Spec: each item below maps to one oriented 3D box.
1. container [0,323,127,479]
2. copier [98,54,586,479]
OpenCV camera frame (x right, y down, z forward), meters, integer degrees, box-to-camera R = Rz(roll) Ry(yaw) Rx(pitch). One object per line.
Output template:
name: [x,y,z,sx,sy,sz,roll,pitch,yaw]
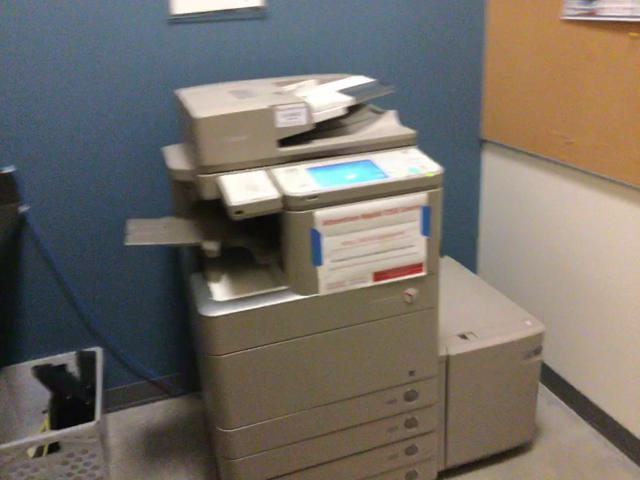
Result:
container: [-0.880,0.580,1.880,0.420,0.390,0.480,-10,17,-16]
copier: [0.060,0.140,1.720,1.120,1.210,0.670,-10,17,-16]
